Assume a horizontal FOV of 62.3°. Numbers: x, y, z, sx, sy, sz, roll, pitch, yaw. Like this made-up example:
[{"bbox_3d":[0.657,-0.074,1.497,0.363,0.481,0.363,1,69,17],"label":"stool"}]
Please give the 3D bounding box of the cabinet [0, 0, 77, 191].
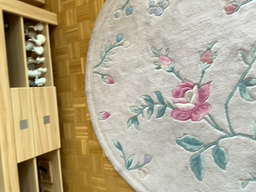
[{"bbox_3d":[-0.810,0.160,1.460,0.630,0.490,1.440,-3,92,28],"label":"cabinet"}]
